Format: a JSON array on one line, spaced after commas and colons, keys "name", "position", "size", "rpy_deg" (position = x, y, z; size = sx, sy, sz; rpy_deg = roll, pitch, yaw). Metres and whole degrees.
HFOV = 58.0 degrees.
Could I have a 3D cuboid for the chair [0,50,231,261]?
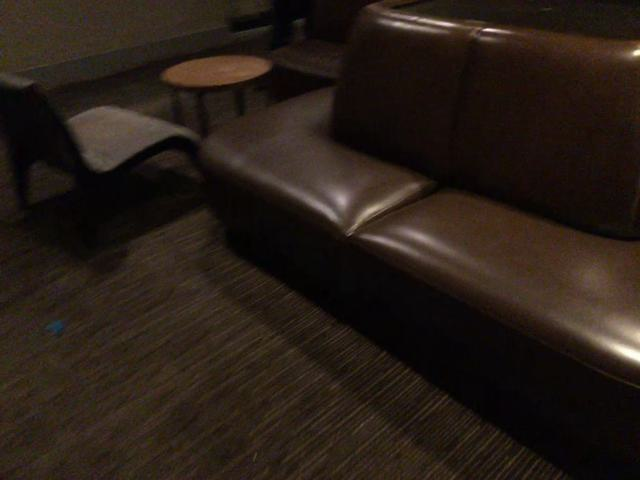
[{"name": "chair", "position": [-1.010, -0.460, 2.640], "size": [0.810, 0.700, 0.830], "rpy_deg": [17, 27, 35]}]
